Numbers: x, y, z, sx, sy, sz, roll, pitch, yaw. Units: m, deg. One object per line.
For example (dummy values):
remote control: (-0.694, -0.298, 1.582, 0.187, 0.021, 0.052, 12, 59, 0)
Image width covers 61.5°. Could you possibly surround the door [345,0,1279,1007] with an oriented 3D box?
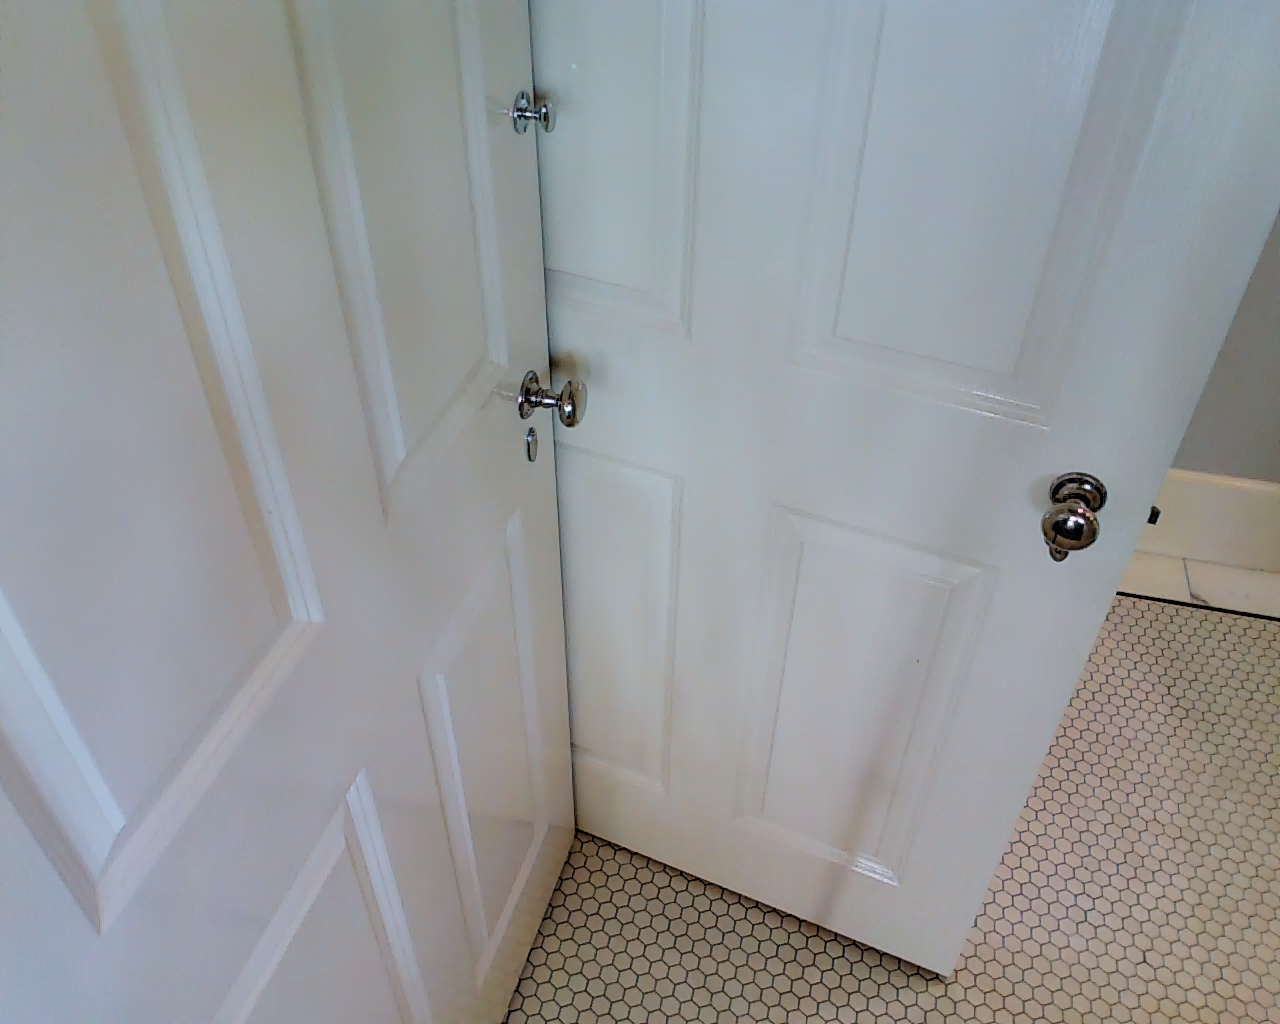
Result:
door: (0.110, -0.190, 1.050, 0.830, 2.030, 0.080, 19, 45, 19)
